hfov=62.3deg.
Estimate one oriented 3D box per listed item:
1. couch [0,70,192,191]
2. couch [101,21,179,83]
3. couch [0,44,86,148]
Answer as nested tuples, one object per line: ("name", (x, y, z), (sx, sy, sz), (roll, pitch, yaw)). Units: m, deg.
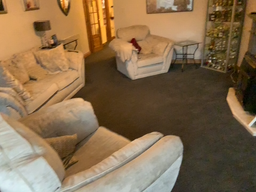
("couch", (-0.370, 0.500, 1.540), (1.190, 0.940, 1.040), (19, 32, 38))
("couch", (0.250, -1.050, 4.730), (1.340, 1.000, 1.020), (-13, 26, -21))
("couch", (-1.570, -0.210, 3.360), (1.000, 0.790, 2.140), (2, 25, 10))
